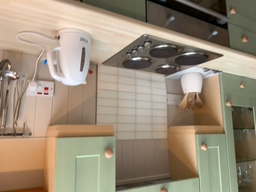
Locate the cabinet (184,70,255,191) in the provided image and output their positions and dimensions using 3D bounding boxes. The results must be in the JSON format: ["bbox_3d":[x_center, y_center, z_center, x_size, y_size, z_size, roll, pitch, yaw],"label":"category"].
[{"bbox_3d":[0.830,0.460,1.850,0.540,1.260,0.310,5,169,-30],"label":"cabinet"}]
